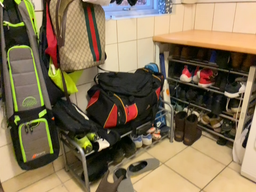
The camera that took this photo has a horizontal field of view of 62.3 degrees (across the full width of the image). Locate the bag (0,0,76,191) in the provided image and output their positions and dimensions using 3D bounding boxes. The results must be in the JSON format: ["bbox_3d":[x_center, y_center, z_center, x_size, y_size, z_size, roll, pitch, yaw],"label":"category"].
[{"bbox_3d":[-0.560,0.010,1.210,0.340,1.050,0.180,-21,30,-37],"label":"bag"}]

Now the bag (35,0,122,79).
[{"bbox_3d":[-0.280,-0.390,1.280,0.400,0.450,0.260,-19,29,-34],"label":"bag"}]
